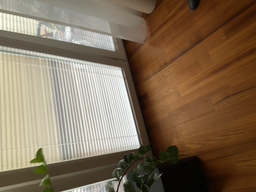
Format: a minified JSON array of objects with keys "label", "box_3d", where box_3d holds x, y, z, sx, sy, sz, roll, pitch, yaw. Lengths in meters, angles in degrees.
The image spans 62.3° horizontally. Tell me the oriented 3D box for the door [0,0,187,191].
[{"label":"door","box_3d":[-0.660,0.260,1.010,0.130,2.460,2.370,-33,63,45]}]
